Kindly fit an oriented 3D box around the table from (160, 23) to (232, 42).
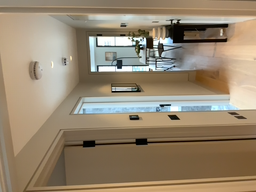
[{"bbox_3d":[1.030,-1.000,3.430,0.870,0.840,0.250,-109,18,-75],"label":"table"}]
